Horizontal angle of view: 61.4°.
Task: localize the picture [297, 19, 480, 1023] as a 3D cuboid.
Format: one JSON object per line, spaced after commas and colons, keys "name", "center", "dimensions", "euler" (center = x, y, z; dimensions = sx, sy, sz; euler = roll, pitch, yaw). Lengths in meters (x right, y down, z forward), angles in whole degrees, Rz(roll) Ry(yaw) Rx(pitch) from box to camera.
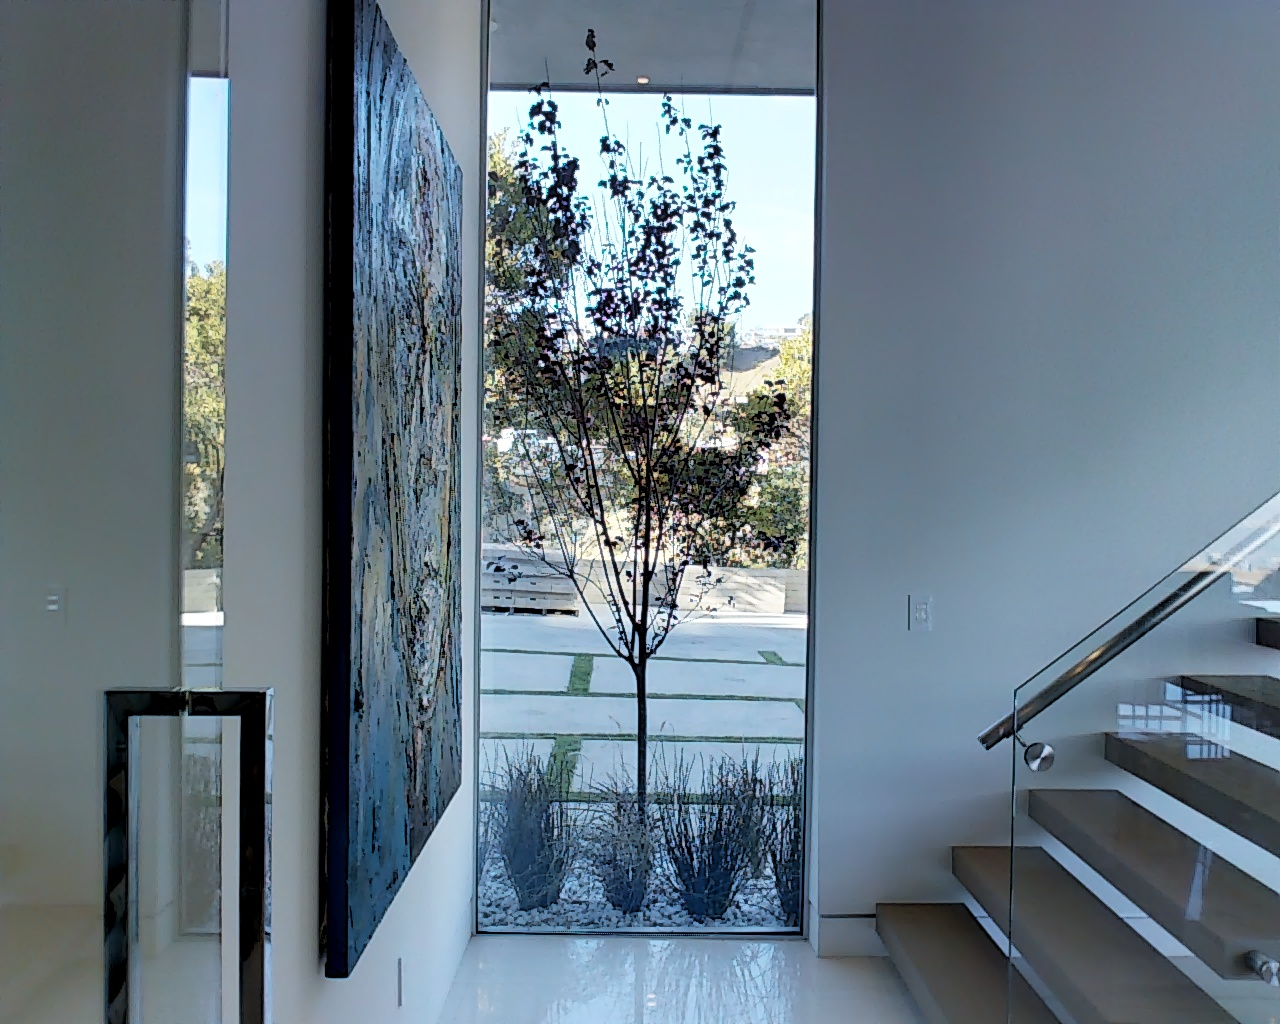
{"name": "picture", "center": [-0.520, 0.030, 2.480], "dimensions": [0.080, 1.690, 1.420], "euler": [1, 1, 0]}
